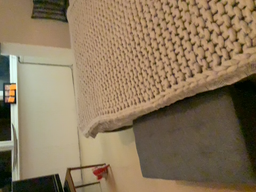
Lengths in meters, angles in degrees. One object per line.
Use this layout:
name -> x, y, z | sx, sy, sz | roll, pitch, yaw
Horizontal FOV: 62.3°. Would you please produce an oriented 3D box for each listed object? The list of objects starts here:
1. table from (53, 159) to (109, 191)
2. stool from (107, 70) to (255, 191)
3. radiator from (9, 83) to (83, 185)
table -> -0.570, 1.170, 2.540 | 0.610, 0.490, 0.420 | 49, 131, 49
stool -> 0.260, 0.220, 1.180 | 0.880, 0.390, 0.410 | -29, 65, 57
radiator -> -1.360, 0.550, 3.530 | 0.160, 1.060, 1.520 | -28, 66, 57
